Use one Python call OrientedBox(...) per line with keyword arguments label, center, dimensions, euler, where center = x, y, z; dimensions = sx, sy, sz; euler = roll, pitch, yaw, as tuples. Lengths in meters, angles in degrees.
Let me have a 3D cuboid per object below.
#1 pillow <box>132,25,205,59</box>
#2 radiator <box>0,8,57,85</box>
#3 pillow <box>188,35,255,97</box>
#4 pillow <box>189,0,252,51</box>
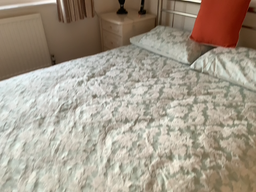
OrientedBox(label="pillow", center=(0.350, -0.520, 1.960), dimensions=(0.340, 0.100, 0.580), euler=(-23, 39, -29))
OrientedBox(label="radiator", center=(-1.390, -0.390, 2.010), dimensions=(1.320, 0.650, 0.100), euler=(-25, 40, -31))
OrientedBox(label="pillow", center=(0.850, -0.230, 1.520), dimensions=(0.450, 0.170, 0.660), euler=(-23, 39, -29))
OrientedBox(label="pillow", center=(0.730, -0.630, 1.700), dimensions=(0.180, 0.420, 0.400), euler=(-42, 47, -16))
